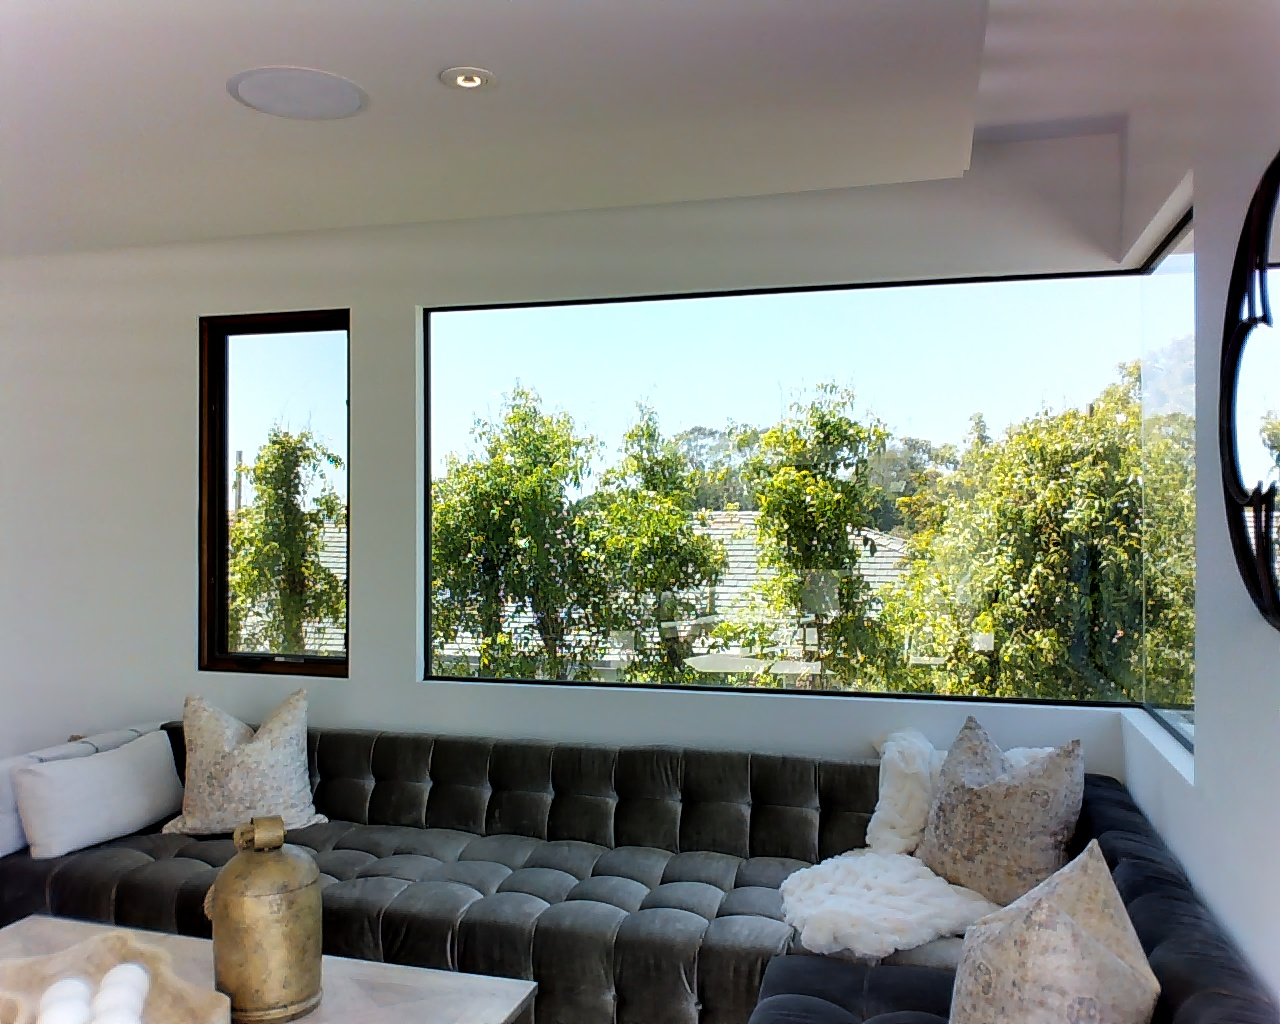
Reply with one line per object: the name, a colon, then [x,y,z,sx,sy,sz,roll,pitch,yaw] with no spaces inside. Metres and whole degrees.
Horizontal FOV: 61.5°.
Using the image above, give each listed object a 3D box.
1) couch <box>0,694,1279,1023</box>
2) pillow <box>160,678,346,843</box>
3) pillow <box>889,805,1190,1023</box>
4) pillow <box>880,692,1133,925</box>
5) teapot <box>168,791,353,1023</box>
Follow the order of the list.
couch: [-0.560,1.170,2.850,3.850,0.780,2.520,0,0,17]
pillow: [-1.410,0.900,3.970,0.570,0.510,0.390,0,0,-6]
pillow: [0.760,0.890,1.990,0.410,0.500,0.510,-3,4,31]
pillow: [1.070,0.850,3.180,0.280,0.480,0.540,-28,14,-28]
teapot: [-0.850,0.890,2.430,0.290,0.430,0.270,0,0,17]
